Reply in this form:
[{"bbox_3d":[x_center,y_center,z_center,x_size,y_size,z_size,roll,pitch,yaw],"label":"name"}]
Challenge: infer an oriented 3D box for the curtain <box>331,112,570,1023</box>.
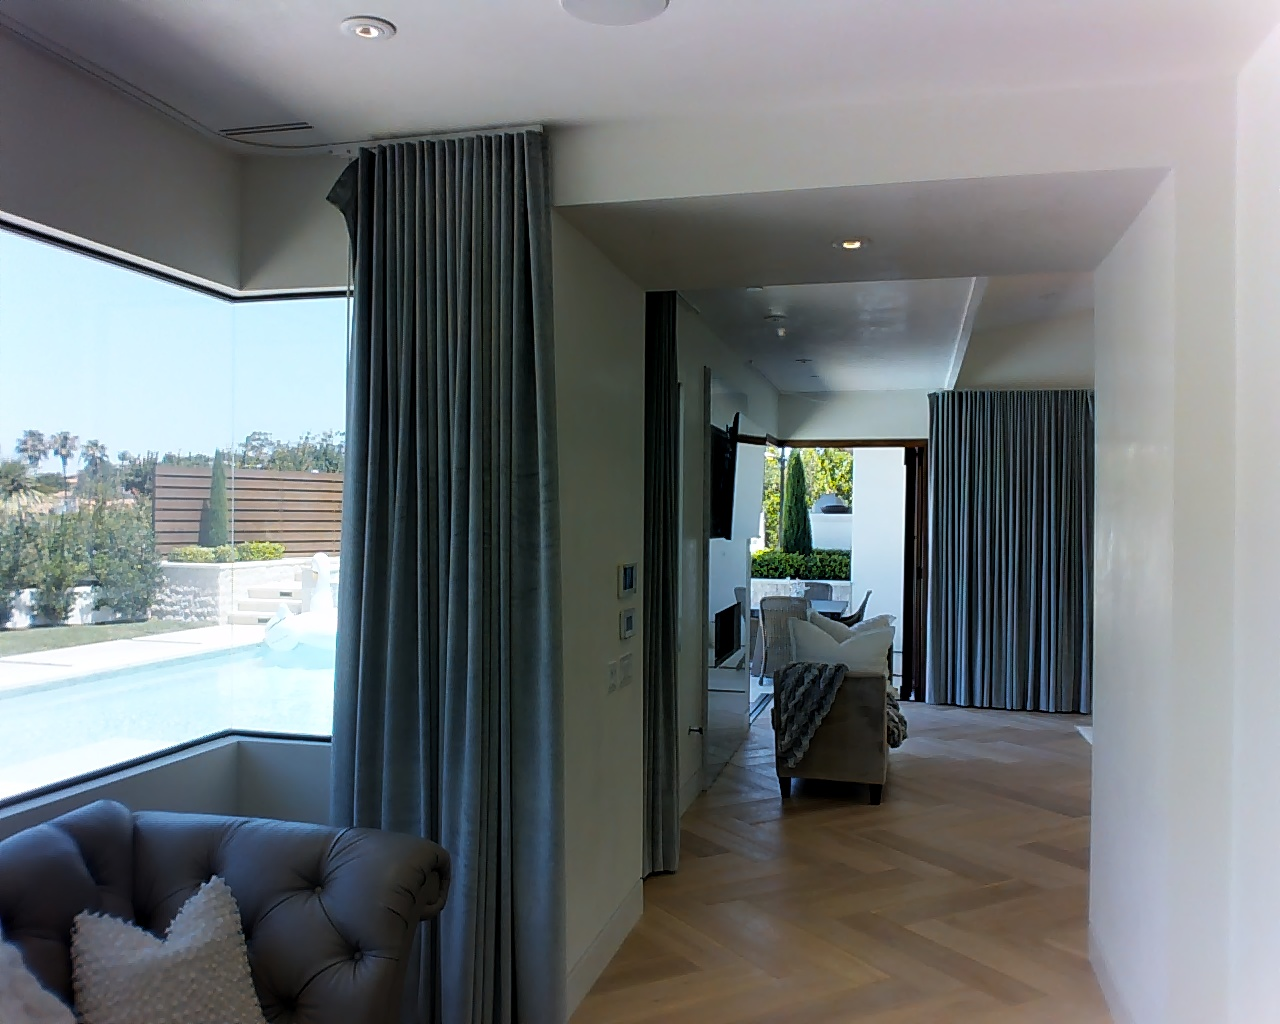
[{"bbox_3d":[-0.580,0.230,3.280,0.690,2.790,0.150,1,0,14],"label":"curtain"}]
